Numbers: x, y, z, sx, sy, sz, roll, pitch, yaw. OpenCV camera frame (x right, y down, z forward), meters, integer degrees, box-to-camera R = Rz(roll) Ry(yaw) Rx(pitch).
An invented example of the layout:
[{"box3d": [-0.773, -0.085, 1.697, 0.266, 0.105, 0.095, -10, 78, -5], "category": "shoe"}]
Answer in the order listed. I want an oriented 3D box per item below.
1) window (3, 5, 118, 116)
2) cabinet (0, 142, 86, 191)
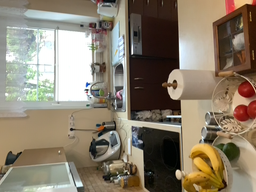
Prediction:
[{"box3d": [-0.880, -0.440, 2.950, 0.230, 1.460, 1.370, 171, 98, -70], "category": "window"}, {"box3d": [-0.420, 0.600, 1.000, 3.140, 0.400, 0.320, 168, 101, -70], "category": "cabinet"}]
